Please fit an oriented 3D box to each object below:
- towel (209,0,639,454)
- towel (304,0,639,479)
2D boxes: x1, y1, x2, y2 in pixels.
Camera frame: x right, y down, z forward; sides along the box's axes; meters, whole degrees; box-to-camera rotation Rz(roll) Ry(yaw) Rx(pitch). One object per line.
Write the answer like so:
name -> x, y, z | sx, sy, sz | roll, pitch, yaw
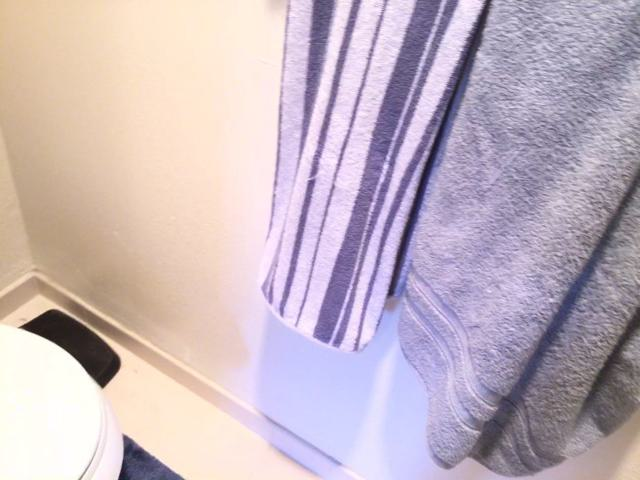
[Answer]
towel -> 0.090, -0.090, 0.710 | 0.420, 0.700, 0.150 | 29, 43, 18
towel -> 0.250, 0.050, 0.660 | 0.380, 0.800, 0.190 | 29, 43, 18
